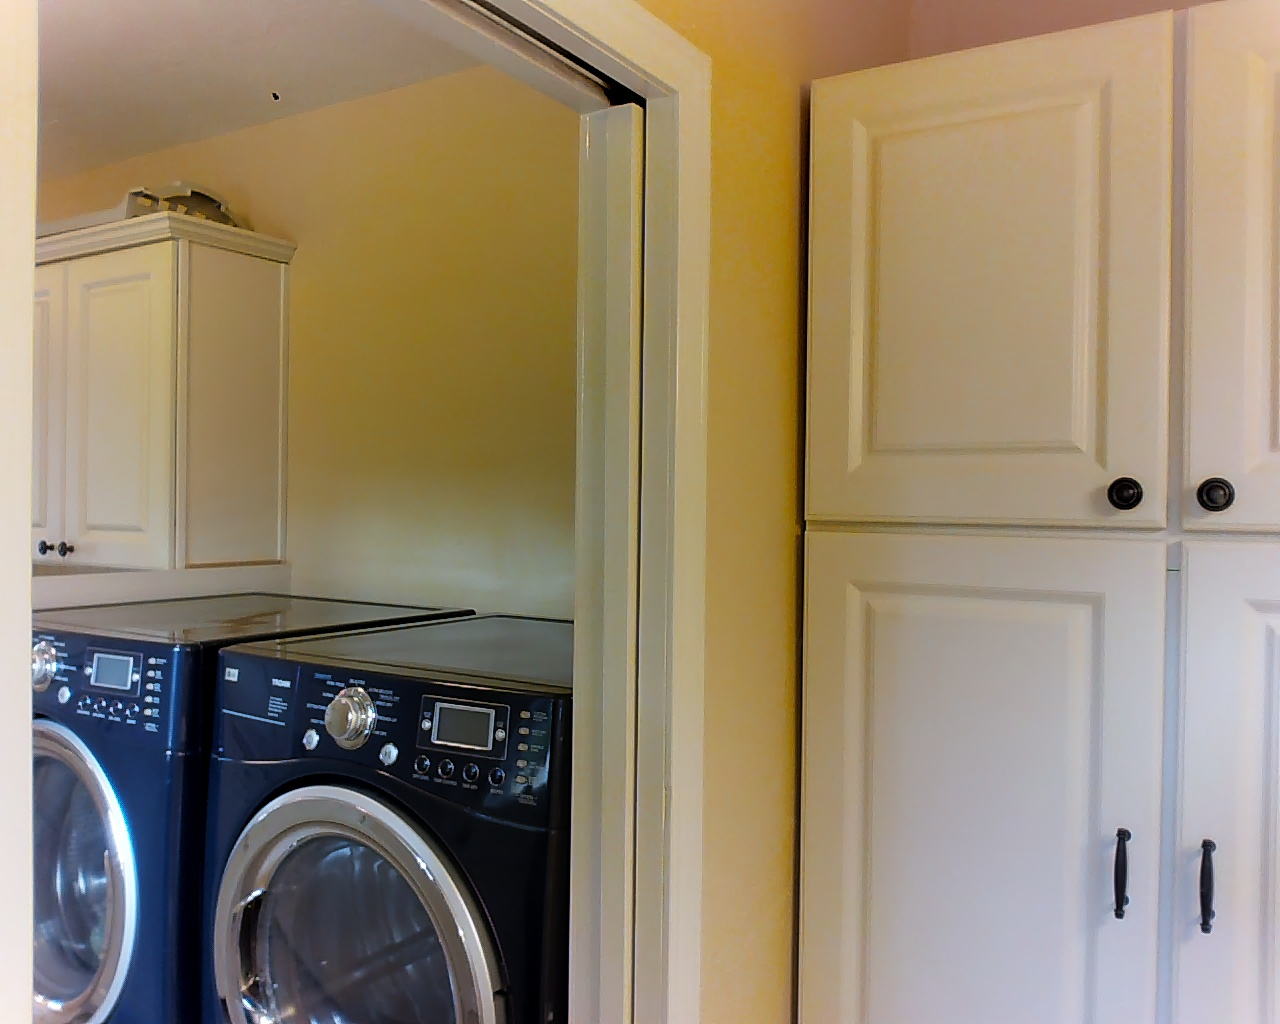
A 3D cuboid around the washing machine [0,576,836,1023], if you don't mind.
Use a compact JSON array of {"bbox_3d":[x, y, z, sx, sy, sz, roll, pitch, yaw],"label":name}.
[{"bbox_3d":[-0.510,0.860,1.960,1.460,1.360,0.900,1,1,31],"label":"washing machine"}]
